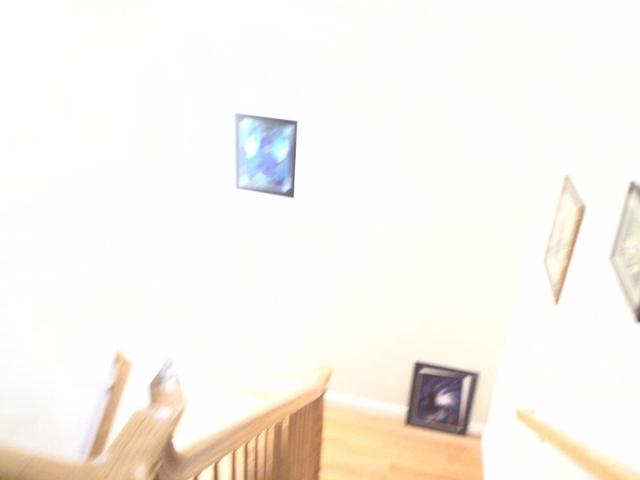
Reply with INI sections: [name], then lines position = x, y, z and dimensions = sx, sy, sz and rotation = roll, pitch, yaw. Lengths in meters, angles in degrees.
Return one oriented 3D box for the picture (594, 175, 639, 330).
[picture]
position = 0.910, 0.020, 1.670
dimensions = 0.040, 0.320, 0.420
rotation = 8, 21, 8
